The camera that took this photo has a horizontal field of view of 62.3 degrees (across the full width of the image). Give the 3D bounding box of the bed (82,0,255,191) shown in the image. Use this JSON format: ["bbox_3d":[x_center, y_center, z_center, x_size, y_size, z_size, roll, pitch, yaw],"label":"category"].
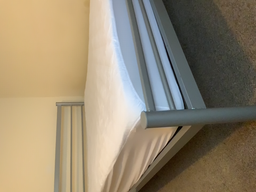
[{"bbox_3d":[-0.070,0.070,1.840,2.070,0.520,1.470,110,154,-54],"label":"bed"}]
